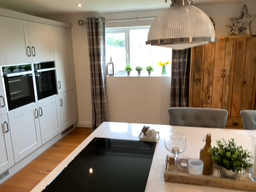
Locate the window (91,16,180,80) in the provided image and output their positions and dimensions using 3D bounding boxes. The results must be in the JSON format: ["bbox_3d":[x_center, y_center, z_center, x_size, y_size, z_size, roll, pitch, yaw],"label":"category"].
[{"bbox_3d":[0.130,-0.930,4.260,1.700,1.120,0.400,3,13,19],"label":"window"}]
